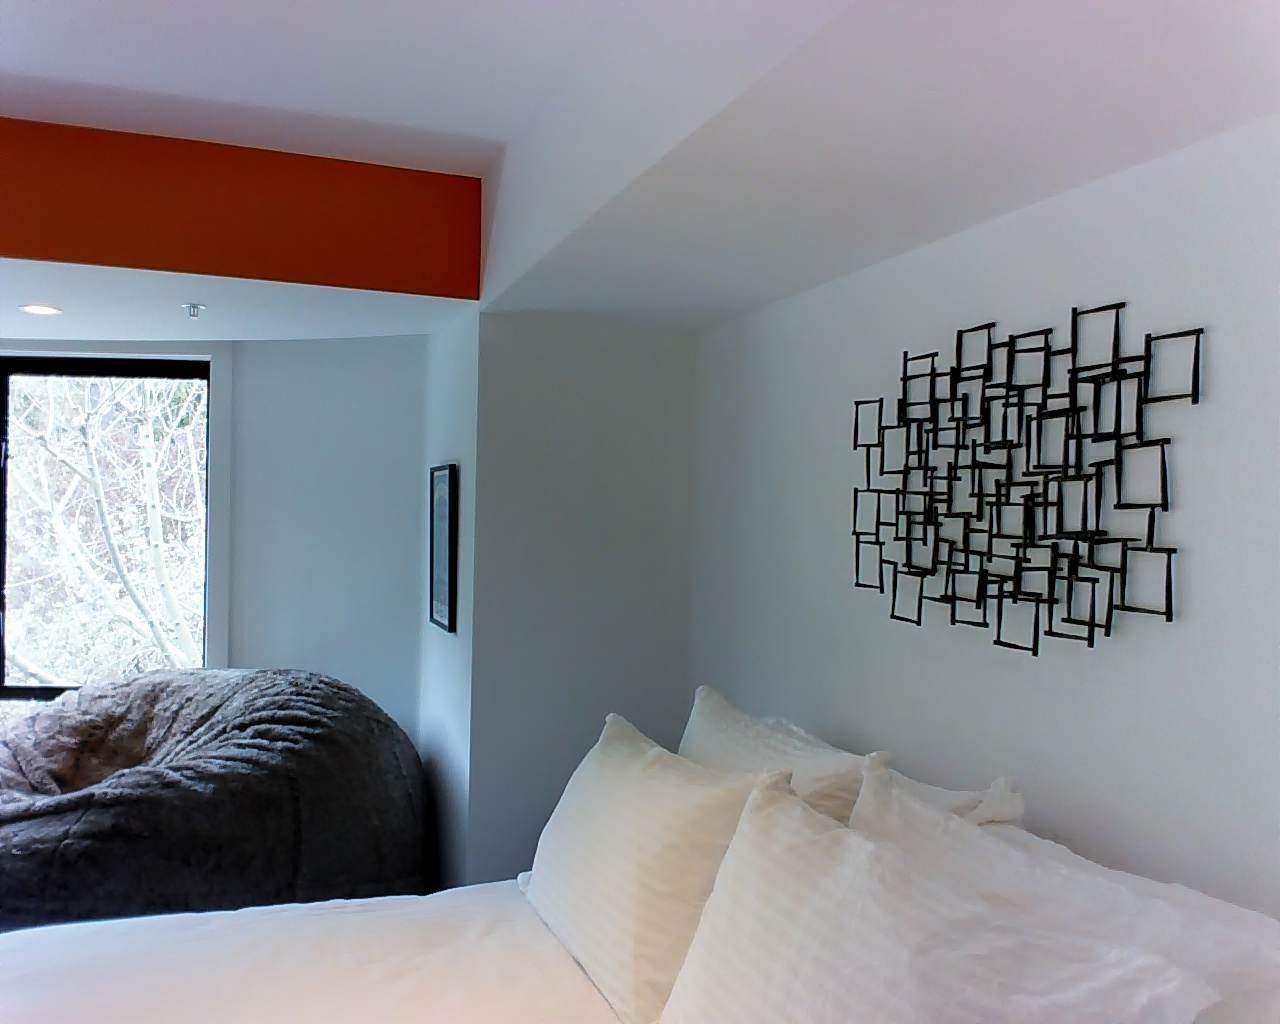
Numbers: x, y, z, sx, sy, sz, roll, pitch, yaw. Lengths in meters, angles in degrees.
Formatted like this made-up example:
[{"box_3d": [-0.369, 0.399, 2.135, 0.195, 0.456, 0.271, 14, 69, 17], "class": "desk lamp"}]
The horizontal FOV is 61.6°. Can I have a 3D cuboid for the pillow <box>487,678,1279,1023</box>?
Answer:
[{"box_3d": [0.220, 0.620, 1.730, 0.540, 0.450, 1.590, 1, 0, -22], "class": "pillow"}]
